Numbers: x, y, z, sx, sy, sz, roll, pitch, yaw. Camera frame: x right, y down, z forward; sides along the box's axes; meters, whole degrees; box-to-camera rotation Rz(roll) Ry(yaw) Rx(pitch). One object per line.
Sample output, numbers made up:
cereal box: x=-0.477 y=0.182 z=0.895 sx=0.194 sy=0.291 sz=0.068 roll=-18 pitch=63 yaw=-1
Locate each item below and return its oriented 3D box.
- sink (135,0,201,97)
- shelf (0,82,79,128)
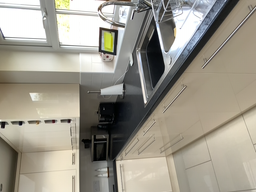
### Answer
sink: x=0.220 y=-0.310 z=1.380 sx=0.420 sy=0.190 sz=0.490 roll=115 pitch=152 yaw=-60
shelf: x=-0.880 y=0.080 z=2.020 sx=0.250 sy=0.790 sz=0.350 roll=115 pitch=152 yaw=-60
